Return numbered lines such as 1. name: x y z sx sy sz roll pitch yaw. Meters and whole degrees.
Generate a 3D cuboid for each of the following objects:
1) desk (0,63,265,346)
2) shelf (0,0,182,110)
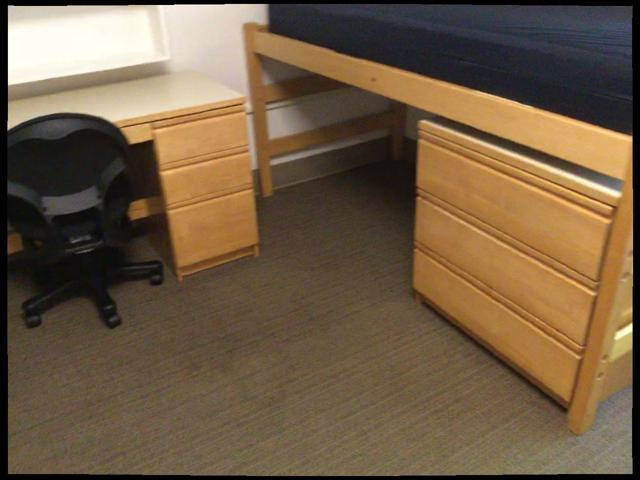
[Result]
1. desk: -1.028 -0.210 2.520 1.318 0.761 0.720 -19 34 -25
2. shelf: -1.188 -1.062 2.300 1.079 0.961 0.250 -18 34 -24
